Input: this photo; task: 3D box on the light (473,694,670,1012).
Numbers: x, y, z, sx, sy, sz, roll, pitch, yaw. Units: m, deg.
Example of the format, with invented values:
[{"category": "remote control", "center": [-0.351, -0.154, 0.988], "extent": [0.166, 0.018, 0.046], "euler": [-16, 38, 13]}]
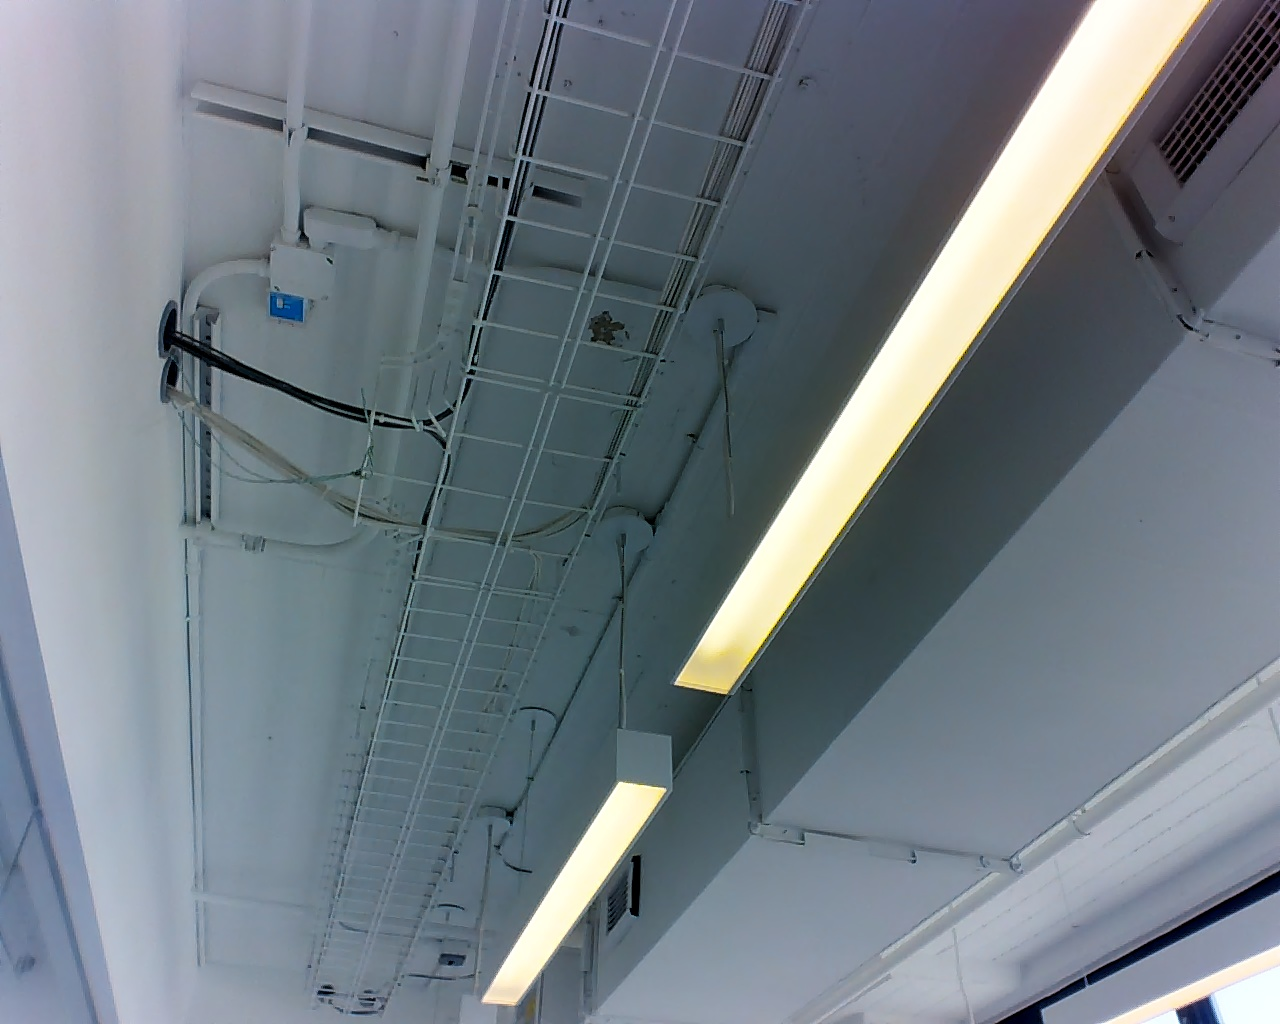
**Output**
[{"category": "light", "center": [-0.180, 0.781, 2.270], "extent": [0.120, 0.170, 1.210], "euler": [12, -43, -12]}]

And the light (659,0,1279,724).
[{"category": "light", "center": [0.300, -0.200, 1.160], "extent": [0.170, 0.200, 1.330], "euler": [12, -43, -12]}]

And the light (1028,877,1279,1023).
[{"category": "light", "center": [1.409, 1.121, 2.620], "extent": [0.200, 0.140, 1.300], "euler": [12, -43, -12]}]
